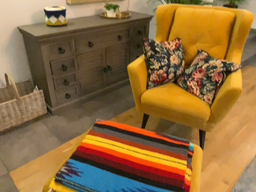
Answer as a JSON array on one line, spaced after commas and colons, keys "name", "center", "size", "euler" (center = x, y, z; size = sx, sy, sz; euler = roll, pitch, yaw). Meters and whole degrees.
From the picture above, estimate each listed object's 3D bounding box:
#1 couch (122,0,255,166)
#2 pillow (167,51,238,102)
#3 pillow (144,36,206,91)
[{"name": "couch", "center": [0.550, -0.220, 1.960], "size": [0.860, 1.070, 0.970], "euler": [15, 33, 21]}, {"name": "pillow", "center": [0.620, -0.190, 1.830], "size": [0.300, 0.220, 0.460], "euler": [-18, 36, -29]}, {"name": "pillow", "center": [0.400, -0.310, 1.950], "size": [0.420, 0.390, 0.340], "euler": [-3, 31, -7]}]
